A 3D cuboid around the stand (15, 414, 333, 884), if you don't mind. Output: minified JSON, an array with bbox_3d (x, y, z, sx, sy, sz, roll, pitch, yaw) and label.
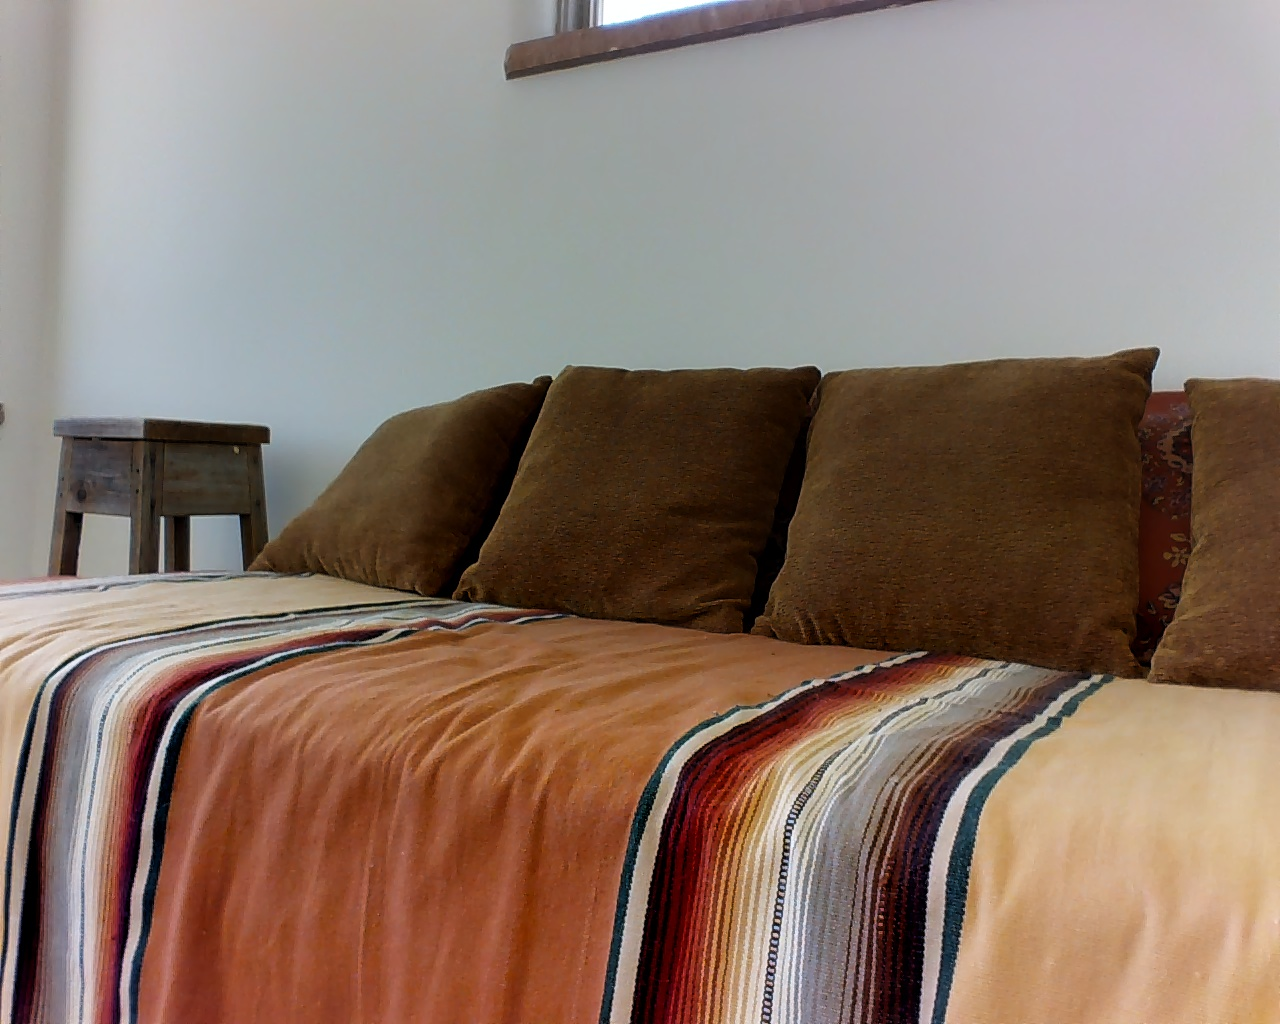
[{"bbox_3d":[-0.910,0.230,2.120,0.380,0.810,0.410,3,1,30],"label":"stand"}]

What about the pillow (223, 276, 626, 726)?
[{"bbox_3d":[-0.380,-0.020,1.800,0.500,0.520,0.190,44,21,23],"label":"pillow"}]

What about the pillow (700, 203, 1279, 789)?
[{"bbox_3d":[0.420,-0.020,1.330,0.450,0.510,0.200,44,20,23],"label":"pillow"}]

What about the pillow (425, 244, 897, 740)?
[{"bbox_3d":[0.010,-0.030,1.560,0.490,0.480,0.180,46,21,22],"label":"pillow"}]
